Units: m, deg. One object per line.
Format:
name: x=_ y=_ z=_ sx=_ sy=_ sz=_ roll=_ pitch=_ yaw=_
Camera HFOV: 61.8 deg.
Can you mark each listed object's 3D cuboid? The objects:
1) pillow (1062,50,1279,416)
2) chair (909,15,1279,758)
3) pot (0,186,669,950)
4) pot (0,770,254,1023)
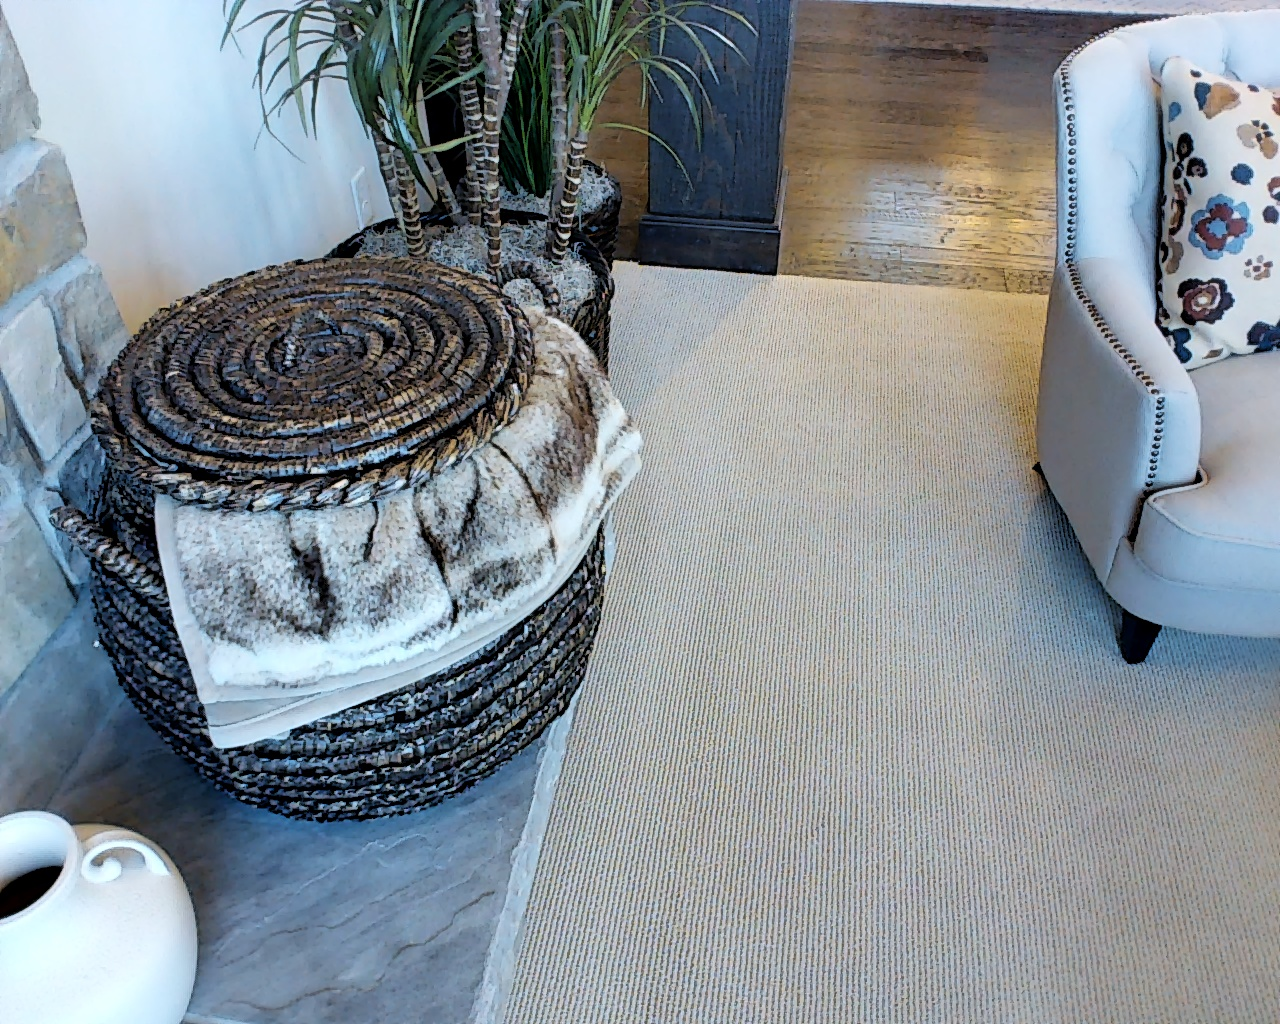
pillow: x=1.090 y=-0.510 z=1.770 sx=0.610 sy=0.400 sz=0.270 roll=-25 pitch=34 yaw=7
chair: x=1.100 y=-0.260 z=1.790 sx=0.900 sy=0.800 sz=0.910 roll=-6 pitch=42 yaw=-6
pot: x=-0.280 y=0.030 z=1.200 sx=0.500 sy=0.510 sz=0.600 roll=9 pitch=43 yaw=10
pot: x=-0.530 y=0.410 z=0.960 sx=0.220 sy=0.250 sz=0.230 roll=6 pitch=42 yaw=7
